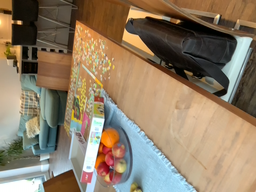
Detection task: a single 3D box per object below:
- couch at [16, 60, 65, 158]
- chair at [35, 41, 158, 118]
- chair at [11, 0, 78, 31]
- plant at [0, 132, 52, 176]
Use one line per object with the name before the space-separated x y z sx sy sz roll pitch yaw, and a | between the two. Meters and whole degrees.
couch | -2.280 0.320 5.350 1.120 0.830 2.100 45 127 48
chair | -0.310 -0.170 2.000 0.550 0.960 0.440 45 129 48
chair | -1.520 -1.480 3.870 0.440 1.060 0.380 43 128 49
plant | -3.390 1.620 5.740 0.670 2.400 0.750 43 127 49
